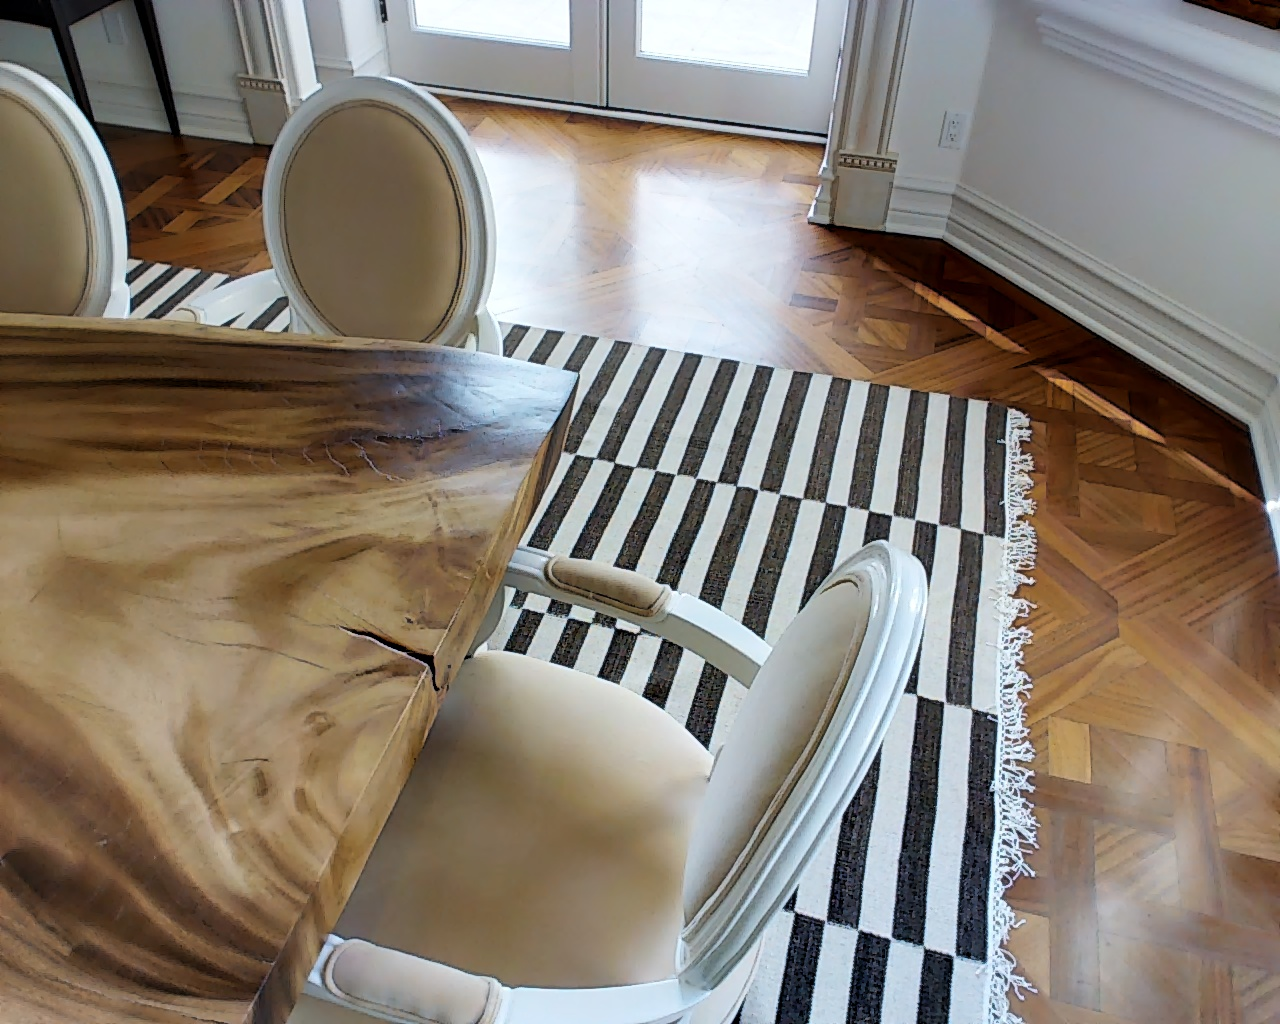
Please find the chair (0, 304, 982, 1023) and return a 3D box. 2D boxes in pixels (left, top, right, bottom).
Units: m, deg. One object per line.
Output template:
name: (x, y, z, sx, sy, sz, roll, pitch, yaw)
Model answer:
chair: (-0.060, 0.410, 1.320, 0.700, 1.010, 0.690, 10, 43, 10)
